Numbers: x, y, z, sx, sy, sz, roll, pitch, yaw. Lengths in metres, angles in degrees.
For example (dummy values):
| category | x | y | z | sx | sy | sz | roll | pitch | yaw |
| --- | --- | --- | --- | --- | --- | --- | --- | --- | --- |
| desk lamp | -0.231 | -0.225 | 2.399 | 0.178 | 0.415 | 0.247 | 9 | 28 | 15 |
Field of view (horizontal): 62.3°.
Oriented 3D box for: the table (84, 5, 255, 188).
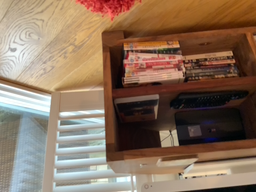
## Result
| category | x | y | z | sx | sy | sz | roll | pitch | yaw |
| --- | --- | --- | --- | --- | --- | --- | --- | --- | --- |
| table | 0.390 | 0.020 | 0.780 | 1.020 | 0.480 | 0.440 | -4 | 155 | -3 |
